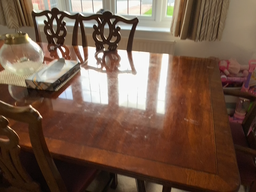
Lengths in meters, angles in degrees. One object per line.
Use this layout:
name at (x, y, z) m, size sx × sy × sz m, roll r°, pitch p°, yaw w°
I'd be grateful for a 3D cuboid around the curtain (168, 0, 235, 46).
curtain at (0.660, -1.170, 1.700) m, size 0.510 × 1.460 × 0.180 m, roll 9°, pitch 31°, yaw 14°
